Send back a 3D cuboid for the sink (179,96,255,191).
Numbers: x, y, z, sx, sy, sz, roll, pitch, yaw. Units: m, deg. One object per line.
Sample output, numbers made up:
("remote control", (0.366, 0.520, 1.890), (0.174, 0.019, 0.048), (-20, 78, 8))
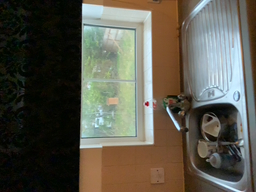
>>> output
("sink", (0.470, 0.230, 1.070), (0.510, 0.190, 0.400), (152, 118, -75))
